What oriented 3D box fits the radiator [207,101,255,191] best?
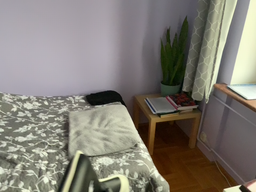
[{"bbox_3d":[1.010,0.510,1.640,0.260,0.620,0.820,-3,26,-12],"label":"radiator"}]
